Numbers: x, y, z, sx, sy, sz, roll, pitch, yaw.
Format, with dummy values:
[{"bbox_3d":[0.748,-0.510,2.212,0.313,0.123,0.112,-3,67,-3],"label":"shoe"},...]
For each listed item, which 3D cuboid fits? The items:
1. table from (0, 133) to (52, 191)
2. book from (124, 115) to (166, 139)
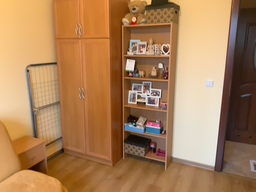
[{"bbox_3d":[-1.110,0.730,2.320,0.300,0.490,0.400,7,15,26],"label":"table"},{"bbox_3d":[0.220,0.400,2.800,0.510,0.170,0.210,7,15,25],"label":"book"}]
